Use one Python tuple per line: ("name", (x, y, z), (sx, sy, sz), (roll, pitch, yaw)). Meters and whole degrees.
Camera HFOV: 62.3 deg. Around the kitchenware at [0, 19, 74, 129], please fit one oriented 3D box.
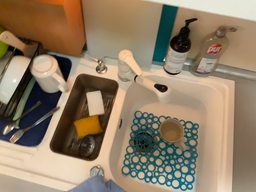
("kitchenware", (-0.460, -0.100, 0.710), (0.450, 0.190, 0.250), (17, 65, 6))
